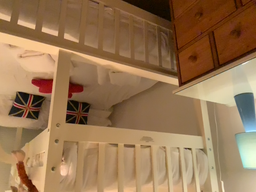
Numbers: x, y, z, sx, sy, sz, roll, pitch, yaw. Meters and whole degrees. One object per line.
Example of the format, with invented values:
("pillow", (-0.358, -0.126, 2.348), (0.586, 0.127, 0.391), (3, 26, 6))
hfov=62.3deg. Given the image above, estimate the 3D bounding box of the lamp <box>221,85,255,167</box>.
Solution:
("lamp", (0.630, 0.160, 1.070), (0.200, 0.370, 0.150), (10, 158, -29))
